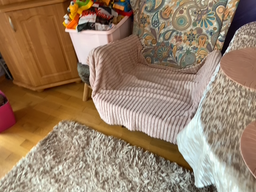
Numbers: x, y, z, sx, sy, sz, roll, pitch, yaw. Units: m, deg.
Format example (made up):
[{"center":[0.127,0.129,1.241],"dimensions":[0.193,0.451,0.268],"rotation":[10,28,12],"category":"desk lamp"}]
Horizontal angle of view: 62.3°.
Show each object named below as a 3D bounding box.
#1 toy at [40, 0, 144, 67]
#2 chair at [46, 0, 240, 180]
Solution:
[{"center":[-0.220,-0.630,1.680],"dimensions":[0.470,0.430,0.660],"rotation":[15,45,21],"category":"toy"},{"center":[0.230,-0.260,1.470],"dimensions":[0.760,1.000,1.020],"rotation":[17,45,22],"category":"chair"}]
